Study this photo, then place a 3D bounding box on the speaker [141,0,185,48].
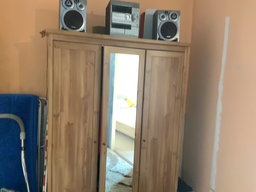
[{"bbox_3d":[0.350,-0.730,2.250,0.270,0.370,0.480,1,6,-15],"label":"speaker"}]
